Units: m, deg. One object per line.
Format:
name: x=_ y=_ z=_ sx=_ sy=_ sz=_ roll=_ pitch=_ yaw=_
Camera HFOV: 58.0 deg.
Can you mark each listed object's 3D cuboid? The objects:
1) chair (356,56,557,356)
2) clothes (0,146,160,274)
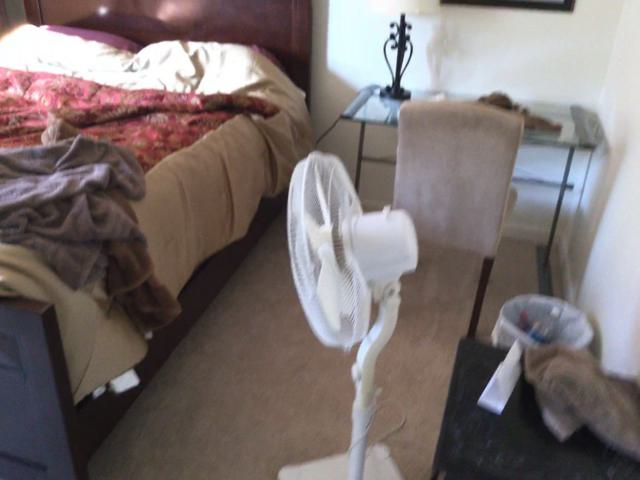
chair: x=0.530 y=-0.160 z=2.310 sx=0.530 sy=0.890 sz=0.690 roll=13 pitch=34 yaw=13
clothes: x=-0.660 y=-0.100 z=1.480 sx=0.260 sy=0.080 sz=0.470 roll=15 pitch=32 yaw=15
